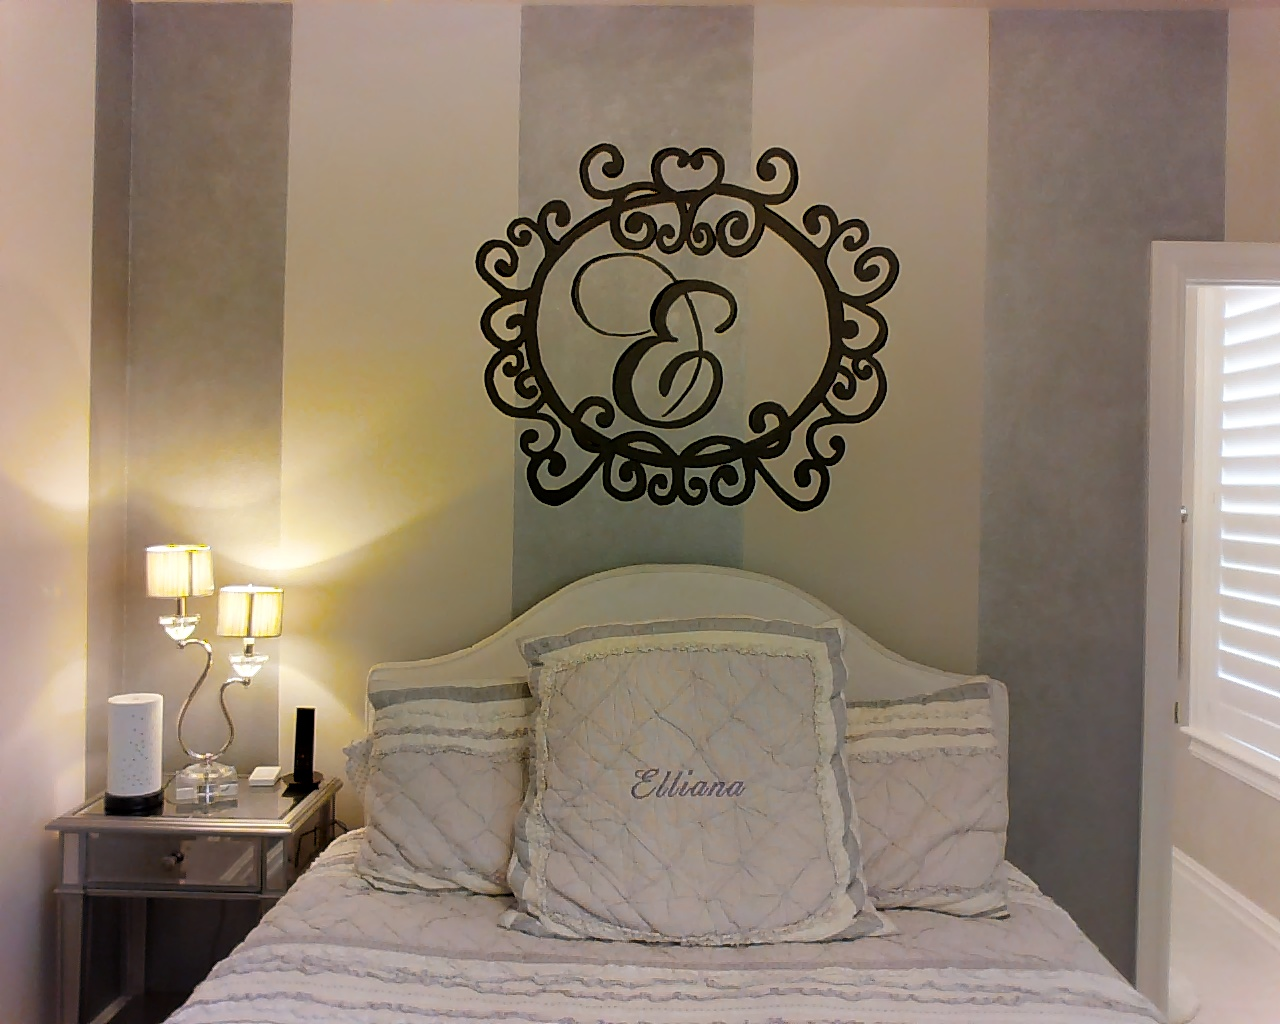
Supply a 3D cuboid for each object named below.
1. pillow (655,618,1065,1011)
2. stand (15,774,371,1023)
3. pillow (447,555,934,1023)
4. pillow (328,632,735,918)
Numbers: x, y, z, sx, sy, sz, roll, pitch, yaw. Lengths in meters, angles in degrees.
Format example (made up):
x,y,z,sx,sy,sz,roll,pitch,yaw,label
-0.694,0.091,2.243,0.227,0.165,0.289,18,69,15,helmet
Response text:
x,y,z,sx,sy,sz,roll,pitch,yaw,label
0.410,0.570,2.060,0.620,0.440,0.140,35,1,1,pillow
-1.050,1.060,2.600,0.650,0.710,0.490,1,0,1,stand
0.090,0.500,2.030,0.670,0.610,0.310,23,1,1,pillow
-0.200,0.510,2.180,0.750,0.470,0.380,1,0,1,pillow
